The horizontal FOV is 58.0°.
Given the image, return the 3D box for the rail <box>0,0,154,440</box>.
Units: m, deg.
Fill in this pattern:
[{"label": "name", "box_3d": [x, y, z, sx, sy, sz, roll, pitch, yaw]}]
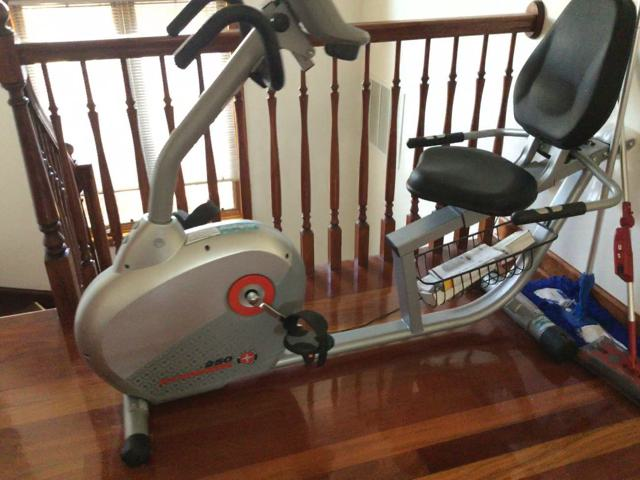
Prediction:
[{"label": "rail", "box_3d": [-0.930, -0.150, 2.270, 0.270, 1.500, 0.960, -9, 27, -14]}]
